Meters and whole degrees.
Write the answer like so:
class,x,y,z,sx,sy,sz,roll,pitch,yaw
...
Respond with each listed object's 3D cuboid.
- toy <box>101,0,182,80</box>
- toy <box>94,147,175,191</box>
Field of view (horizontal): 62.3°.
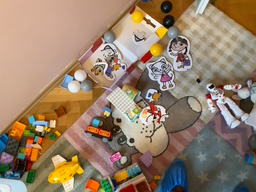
class,x,y,z,sx,sy,sz,roll,pitch,yaw
toy,0.080,-0.340,1.280,0.330,0.070,0.350,41,83,9
toy,0.020,0.410,0.960,0.250,0.270,0.230,35,82,8
